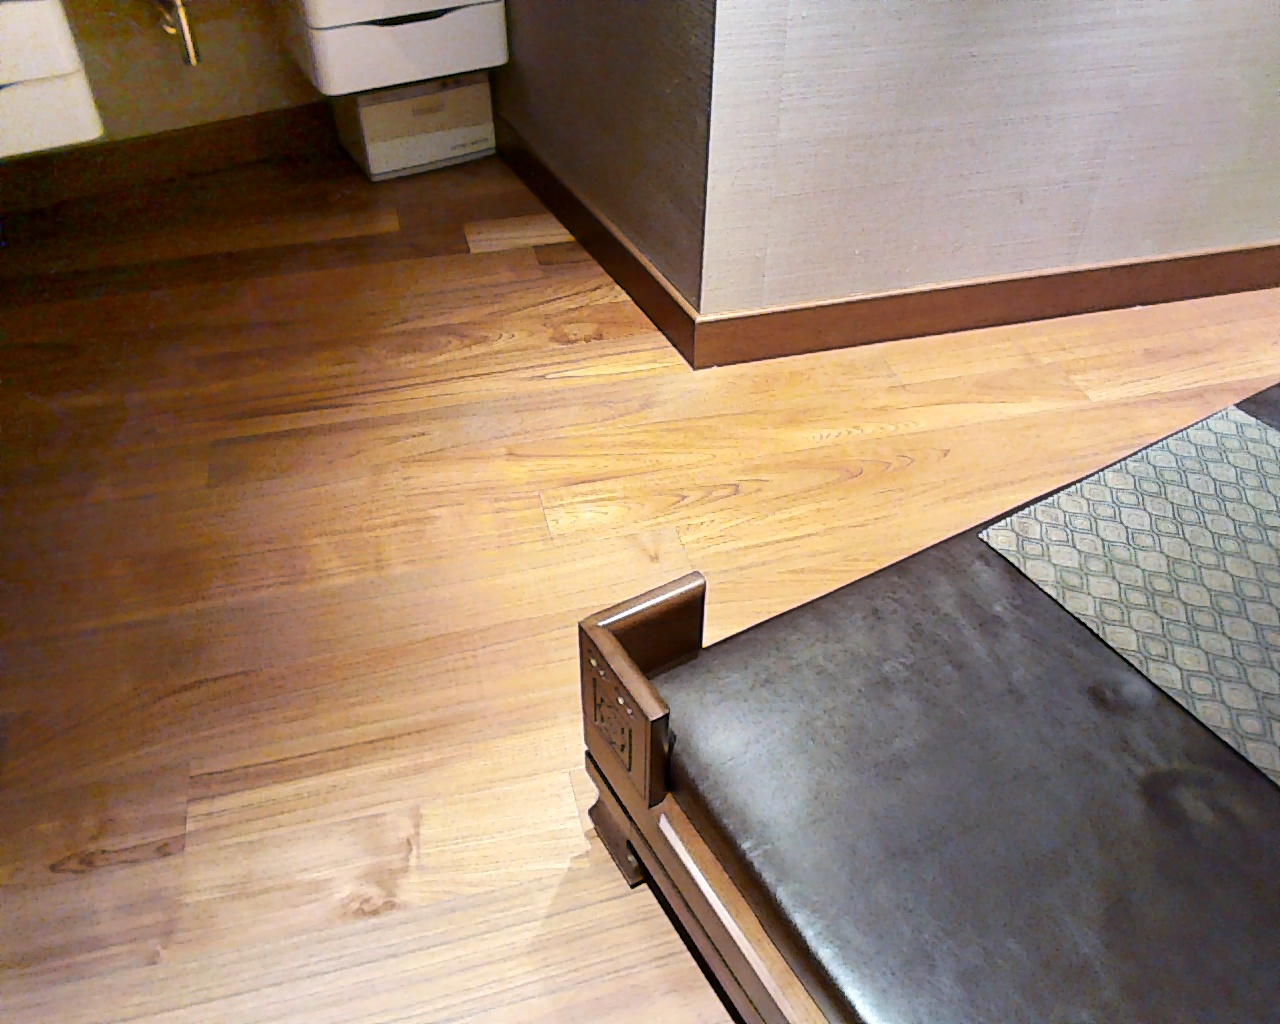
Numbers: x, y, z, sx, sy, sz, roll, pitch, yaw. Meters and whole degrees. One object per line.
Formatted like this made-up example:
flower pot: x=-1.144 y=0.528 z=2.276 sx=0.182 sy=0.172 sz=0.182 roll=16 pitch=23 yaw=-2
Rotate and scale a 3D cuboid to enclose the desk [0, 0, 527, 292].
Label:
desk: x=-1.310 y=-1.320 z=3.200 sx=1.800 sy=0.820 sz=0.580 roll=-19 pitch=46 yaw=-20
